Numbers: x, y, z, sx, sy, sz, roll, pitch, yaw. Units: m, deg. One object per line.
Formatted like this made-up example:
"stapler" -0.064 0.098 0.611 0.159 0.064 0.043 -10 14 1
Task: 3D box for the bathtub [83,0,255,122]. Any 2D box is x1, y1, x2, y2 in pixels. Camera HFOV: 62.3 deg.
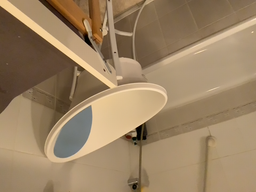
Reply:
"bathtub" 0.560 -0.410 1.570 1.670 0.530 0.710 -23 148 22
